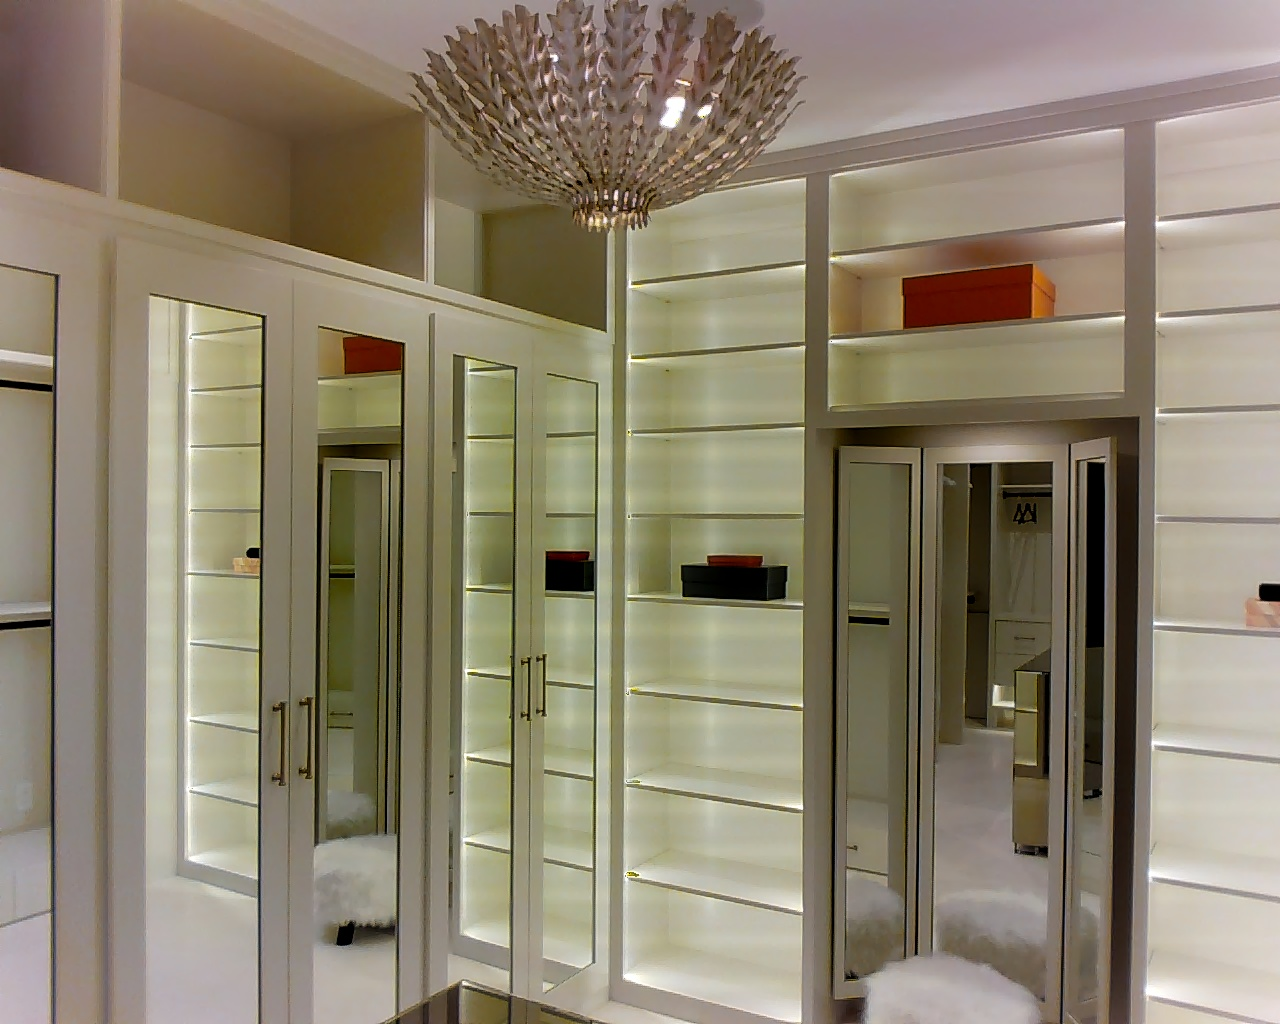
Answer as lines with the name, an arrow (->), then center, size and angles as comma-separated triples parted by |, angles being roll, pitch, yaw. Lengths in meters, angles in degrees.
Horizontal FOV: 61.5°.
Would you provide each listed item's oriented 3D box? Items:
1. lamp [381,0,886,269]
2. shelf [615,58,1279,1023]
lamp -> -0.020, -0.510, 1.450 | 0.490, 0.210, 0.480 | 1, 0, -37
shelf -> 1.090, 0.260, 3.320 | 2.380, 2.800, 0.560 | 1, 0, 31
